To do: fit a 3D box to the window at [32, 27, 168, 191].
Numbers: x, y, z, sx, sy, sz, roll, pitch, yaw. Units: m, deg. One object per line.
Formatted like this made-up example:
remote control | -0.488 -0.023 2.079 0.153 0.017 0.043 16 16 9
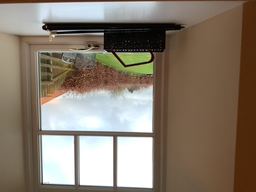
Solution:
window | -0.180 0.110 1.360 0.830 1.050 0.080 1 -176 4
